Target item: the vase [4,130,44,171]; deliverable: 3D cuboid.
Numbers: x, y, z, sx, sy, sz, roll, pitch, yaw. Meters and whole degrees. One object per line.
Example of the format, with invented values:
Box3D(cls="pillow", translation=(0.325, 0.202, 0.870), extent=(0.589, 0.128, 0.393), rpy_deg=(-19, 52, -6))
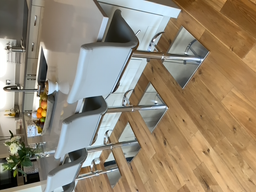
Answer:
Box3D(cls="vase", translation=(-1.270, 0.650, 2.570), extent=(0.300, 0.380, 0.330), rpy_deg=(60, 138, 36))
